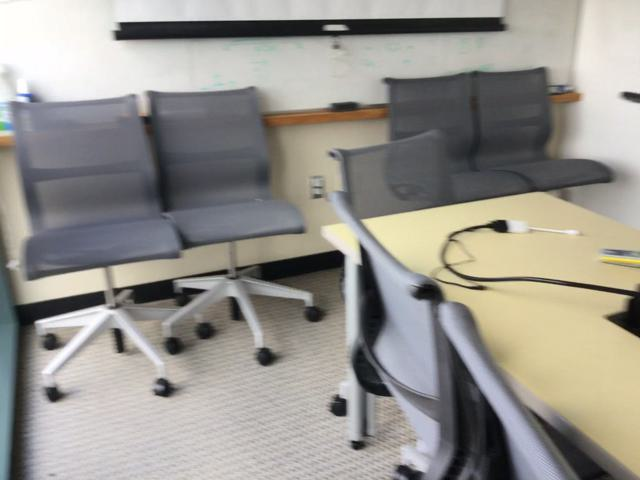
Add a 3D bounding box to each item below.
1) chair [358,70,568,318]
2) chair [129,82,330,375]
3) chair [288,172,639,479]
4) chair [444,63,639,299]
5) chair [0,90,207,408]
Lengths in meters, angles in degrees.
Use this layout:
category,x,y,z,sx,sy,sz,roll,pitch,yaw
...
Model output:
category,x,y,z,sx,sy,sz,roll,pitch,yaw
chair,0.600,-0.250,2.660,0.670,0.930,0.580,-10,24,-18
chair,-0.360,-0.090,2.310,0.600,0.940,0.610,-10,24,-18
chair,0.260,0.380,1.250,0.480,0.890,0.540,-9,24,-18
chair,1.060,-0.320,2.790,0.650,0.940,0.580,-10,24,-18
chair,-0.830,-0.030,2.120,0.620,0.880,0.700,-10,24,-18
